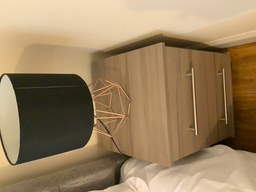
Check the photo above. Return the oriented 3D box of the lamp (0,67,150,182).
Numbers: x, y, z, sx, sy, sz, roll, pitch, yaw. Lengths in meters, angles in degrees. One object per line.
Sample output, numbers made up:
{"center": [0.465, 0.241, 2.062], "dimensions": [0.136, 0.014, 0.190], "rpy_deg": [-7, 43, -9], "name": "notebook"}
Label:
{"center": [-0.160, 0.050, 0.680], "dimensions": [0.230, 0.410, 0.250], "rpy_deg": [-1, 93, 49], "name": "lamp"}
